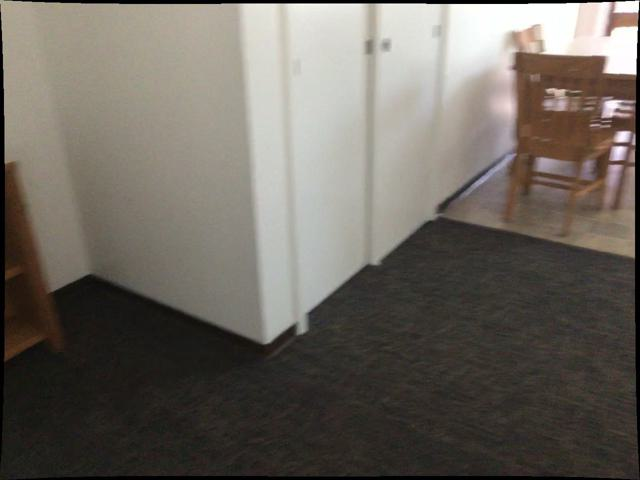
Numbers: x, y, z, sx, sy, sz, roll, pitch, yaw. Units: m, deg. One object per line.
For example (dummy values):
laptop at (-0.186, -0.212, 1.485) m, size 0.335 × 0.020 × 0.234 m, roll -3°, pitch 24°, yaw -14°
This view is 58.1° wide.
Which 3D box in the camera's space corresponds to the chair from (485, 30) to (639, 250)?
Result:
chair at (1.268, -0.541, 2.930) m, size 0.589 × 0.901 × 0.610 m, roll 14°, pitch 32°, yaw 30°

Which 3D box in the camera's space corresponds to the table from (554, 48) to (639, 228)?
table at (1.607, -0.571, 3.100) m, size 0.410 × 0.771 × 0.610 m, roll 15°, pitch 33°, yaw 31°

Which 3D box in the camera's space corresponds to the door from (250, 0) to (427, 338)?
door at (0.150, -0.421, 2.330) m, size 0.080 × 1.302 × 1.060 m, roll 15°, pitch 33°, yaw 31°
